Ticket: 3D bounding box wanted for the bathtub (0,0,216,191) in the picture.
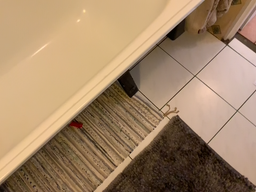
[{"bbox_3d":[-0.480,-0.020,0.950,1.670,0.570,0.690,-42,75,-12],"label":"bathtub"}]
